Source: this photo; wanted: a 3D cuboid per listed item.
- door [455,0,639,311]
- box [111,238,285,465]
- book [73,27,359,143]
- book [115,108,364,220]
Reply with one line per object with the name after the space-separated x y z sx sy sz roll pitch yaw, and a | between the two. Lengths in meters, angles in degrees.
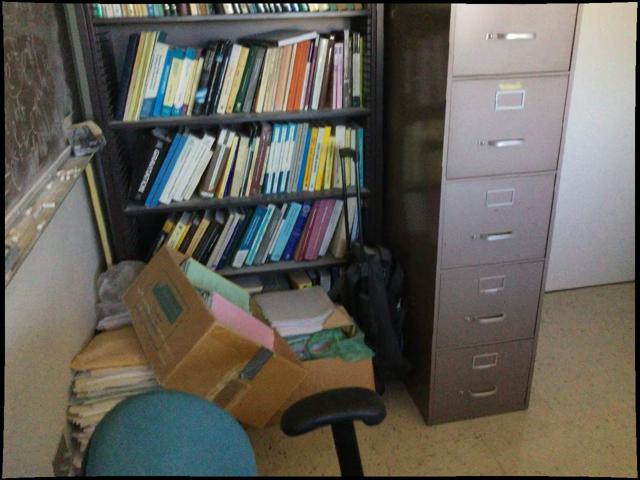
1.237 -0.782 2.500 1.147 2.245 0.150 -6 23 -12 | door
-0.409 0.351 1.810 0.449 0.591 0.410 -1 -23 -18 | box
-0.339 -0.561 2.030 0.908 0.321 0.280 -6 23 -12 | book
-0.289 -0.301 2.160 0.848 0.291 0.300 -6 23 -12 | book
